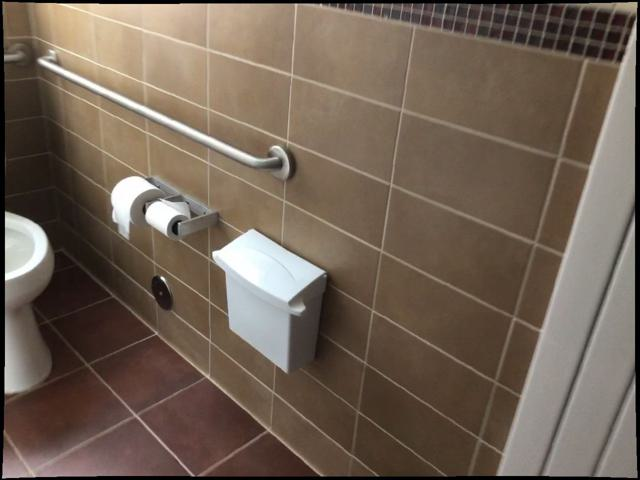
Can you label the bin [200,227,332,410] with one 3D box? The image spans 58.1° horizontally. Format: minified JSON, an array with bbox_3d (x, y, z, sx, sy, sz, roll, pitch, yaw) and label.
[{"bbox_3d":[-0.150,0.190,1.480,0.130,0.321,0.350,-21,37,-40],"label":"bin"}]
